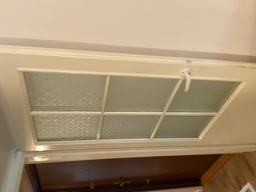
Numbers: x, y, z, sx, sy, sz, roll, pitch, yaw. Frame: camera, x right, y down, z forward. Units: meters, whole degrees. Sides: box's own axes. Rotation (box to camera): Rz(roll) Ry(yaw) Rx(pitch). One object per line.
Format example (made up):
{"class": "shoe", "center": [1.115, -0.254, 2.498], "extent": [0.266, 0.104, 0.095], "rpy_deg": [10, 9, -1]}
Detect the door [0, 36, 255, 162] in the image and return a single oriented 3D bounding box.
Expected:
{"class": "door", "center": [0.270, 0.110, 1.420], "extent": [0.930, 2.010, 0.090], "rpy_deg": [106, 159, -44]}
